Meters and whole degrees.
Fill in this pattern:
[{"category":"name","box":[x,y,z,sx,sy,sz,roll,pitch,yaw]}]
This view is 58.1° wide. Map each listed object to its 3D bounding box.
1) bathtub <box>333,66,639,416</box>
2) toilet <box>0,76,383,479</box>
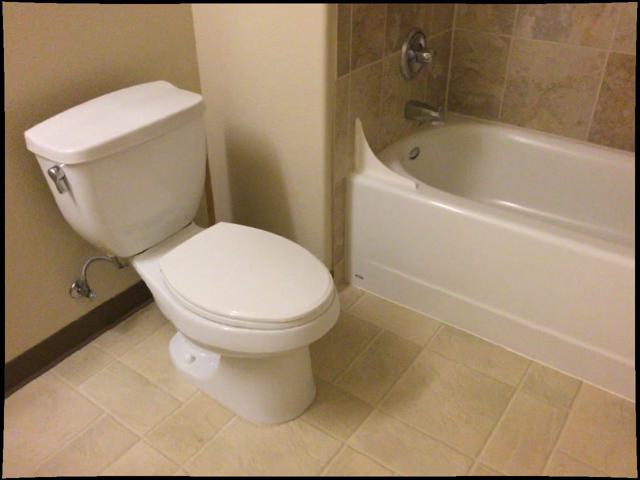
[{"category":"bathtub","box":[0.888,-0.030,1.880,1.508,0.631,0.780,20,39,28]},{"category":"toilet","box":[-0.309,0.070,1.600,0.789,0.791,0.490,20,39,28]}]
